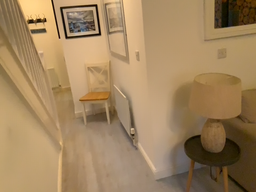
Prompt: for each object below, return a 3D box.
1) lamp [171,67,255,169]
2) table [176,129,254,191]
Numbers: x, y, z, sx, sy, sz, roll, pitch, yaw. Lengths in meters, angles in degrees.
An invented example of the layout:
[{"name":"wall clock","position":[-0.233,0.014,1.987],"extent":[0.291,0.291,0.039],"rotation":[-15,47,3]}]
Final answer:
[{"name":"lamp","position":[0.610,0.120,1.610],"extent":[0.360,0.570,0.500],"rotation":[-10,18,-12]},{"name":"table","position":[0.670,0.600,1.710],"extent":[0.400,0.460,0.400],"rotation":[-10,19,-13]}]
